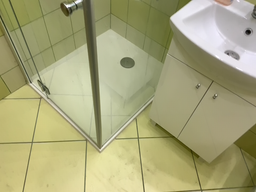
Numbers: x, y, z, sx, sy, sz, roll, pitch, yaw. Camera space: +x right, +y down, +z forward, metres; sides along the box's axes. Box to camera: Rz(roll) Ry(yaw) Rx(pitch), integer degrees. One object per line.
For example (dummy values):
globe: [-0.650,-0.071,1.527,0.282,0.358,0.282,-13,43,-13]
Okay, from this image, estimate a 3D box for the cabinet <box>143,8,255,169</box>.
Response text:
cabinet: [0.400,0.020,1.150,0.450,0.750,0.300,37,59,19]

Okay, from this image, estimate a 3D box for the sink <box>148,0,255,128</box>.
sink: [0.400,-0.180,0.820,0.490,0.180,0.380,37,59,19]
